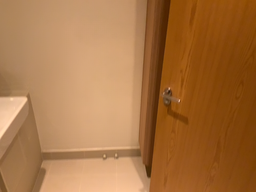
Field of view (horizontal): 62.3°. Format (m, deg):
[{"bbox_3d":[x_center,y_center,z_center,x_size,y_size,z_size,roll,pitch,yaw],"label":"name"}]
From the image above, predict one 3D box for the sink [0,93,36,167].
[{"bbox_3d":[-0.770,0.160,1.170,0.340,0.130,0.490,0,29,-4],"label":"sink"}]
